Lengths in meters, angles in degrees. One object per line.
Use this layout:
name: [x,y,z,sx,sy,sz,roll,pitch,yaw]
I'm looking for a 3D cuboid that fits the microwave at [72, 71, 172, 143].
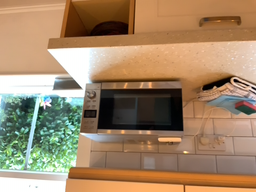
microwave: [0.000,0.080,1.100,0.430,0.270,0.360,-1,161,10]
